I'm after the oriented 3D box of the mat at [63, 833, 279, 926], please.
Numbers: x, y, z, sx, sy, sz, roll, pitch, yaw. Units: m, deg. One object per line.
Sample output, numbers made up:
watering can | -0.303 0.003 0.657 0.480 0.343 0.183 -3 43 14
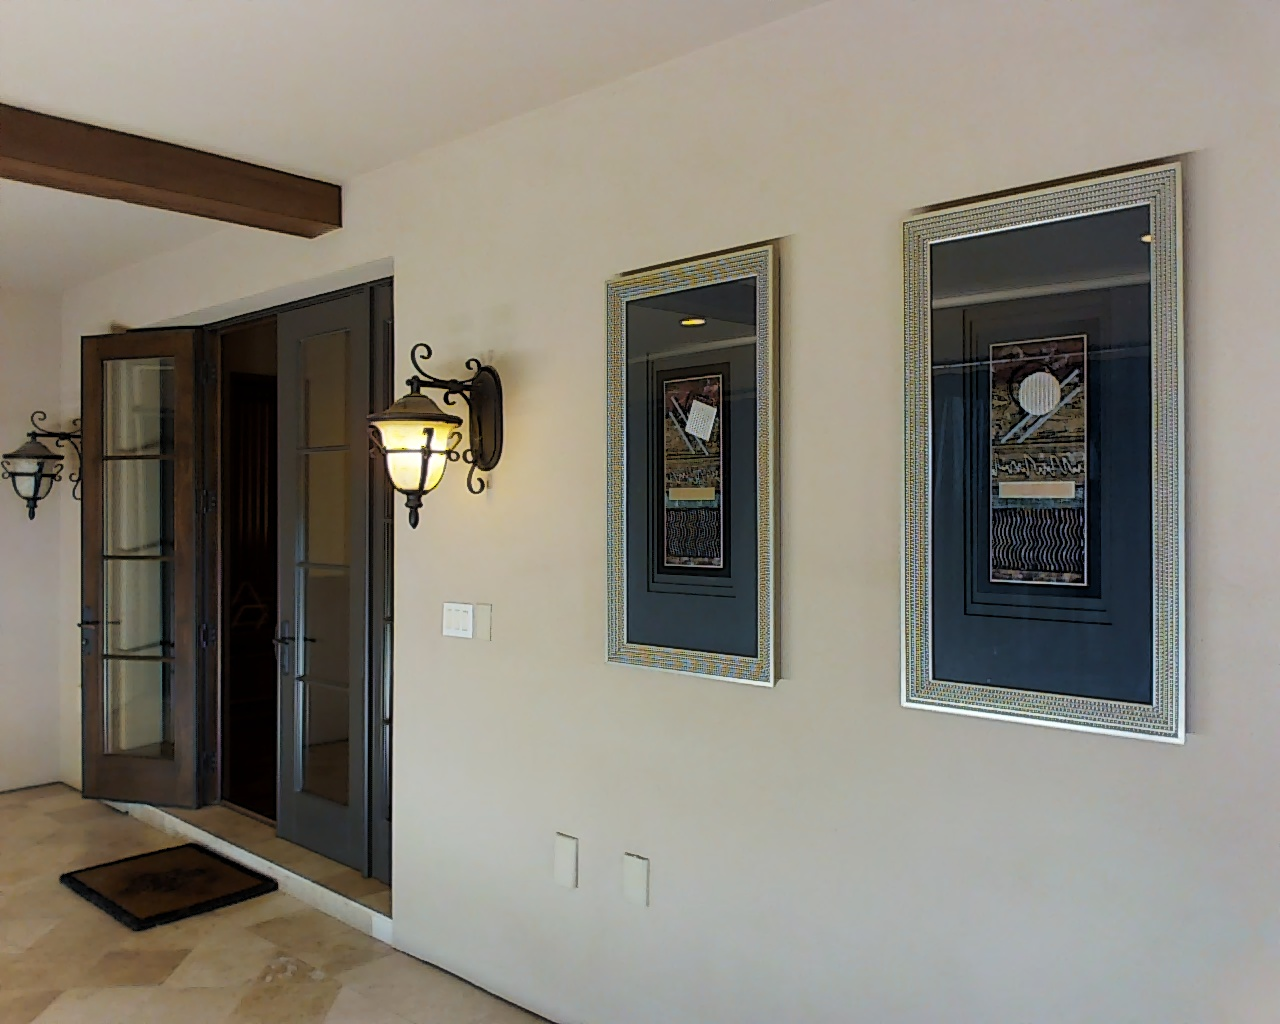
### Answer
mat | -1.960 1.510 4.460 0.790 0.050 0.560 1 1 43
